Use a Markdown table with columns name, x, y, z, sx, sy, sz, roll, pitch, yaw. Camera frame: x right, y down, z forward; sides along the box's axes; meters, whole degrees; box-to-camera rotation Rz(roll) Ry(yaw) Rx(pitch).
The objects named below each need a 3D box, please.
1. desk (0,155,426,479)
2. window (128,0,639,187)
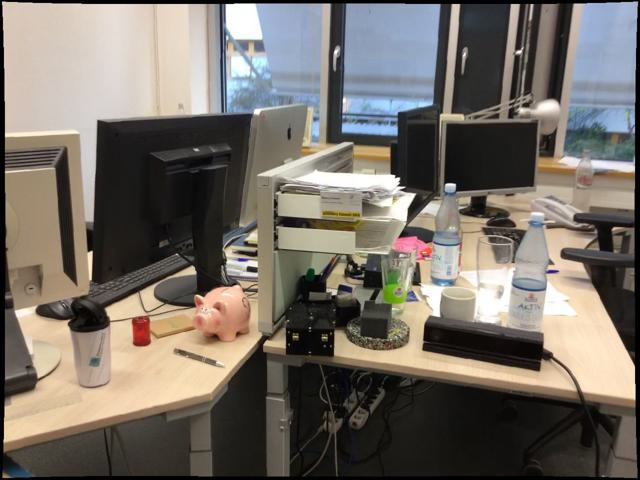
| name | x | y | z | sx | sy | sz | roll | pitch | yaw |
| --- | --- | --- | --- | --- | --- | --- | --- | --- | --- |
| desk | -0.430 | 0.320 | 2.130 | 1.229 | 0.801 | 2.910 | 6 | 17 | 16 |
| window | 0.509 | -0.991 | 3.420 | 3.227 | 1.041 | 0.730 | 6 | 17 | 16 |
